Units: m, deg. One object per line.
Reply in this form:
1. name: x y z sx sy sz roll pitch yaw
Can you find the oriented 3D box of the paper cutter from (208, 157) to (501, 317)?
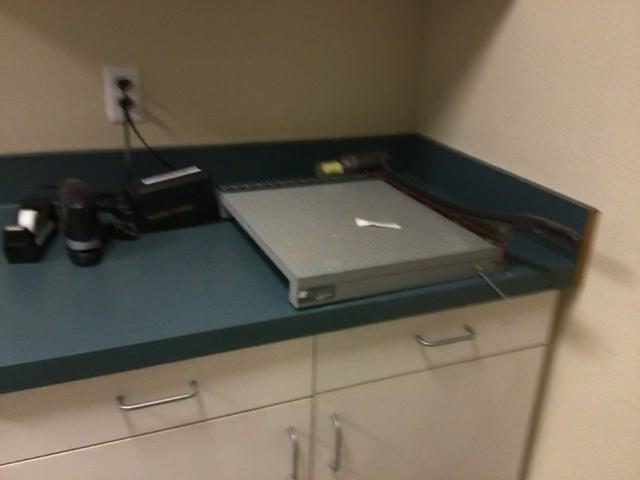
1. paper cutter: 0.030 -0.040 1.090 0.380 0.130 0.460 -7 20 -21
